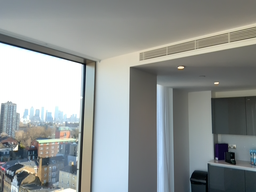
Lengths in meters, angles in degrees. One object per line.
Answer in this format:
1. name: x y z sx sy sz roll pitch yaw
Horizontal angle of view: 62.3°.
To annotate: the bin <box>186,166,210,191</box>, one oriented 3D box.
1. bin: 1.370 1.780 4.140 0.330 0.690 0.350 -4 -8 39
